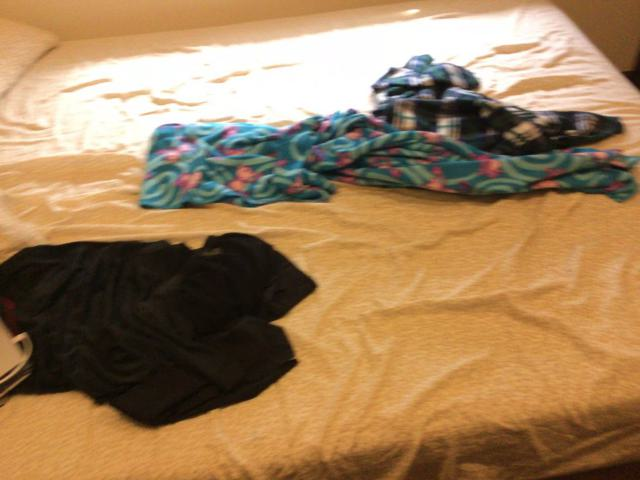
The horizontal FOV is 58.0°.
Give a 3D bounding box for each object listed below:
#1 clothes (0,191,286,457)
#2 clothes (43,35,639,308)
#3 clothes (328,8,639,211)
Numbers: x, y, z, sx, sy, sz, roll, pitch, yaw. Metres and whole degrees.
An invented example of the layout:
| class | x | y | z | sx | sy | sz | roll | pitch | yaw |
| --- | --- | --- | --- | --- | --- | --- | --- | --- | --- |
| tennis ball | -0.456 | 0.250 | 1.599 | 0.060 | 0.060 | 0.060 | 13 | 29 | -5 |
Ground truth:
| class | x | y | z | sx | sy | sz | roll | pitch | yaw |
| --- | --- | --- | --- | --- | --- | --- | --- | --- | --- |
| clothes | -0.440 | 0.140 | 0.990 | 0.710 | 0.090 | 0.410 | -10 | 46 | -4 |
| clothes | 0.030 | -0.190 | 1.260 | 1.110 | 0.120 | 0.530 | -9 | 46 | -3 |
| clothes | 0.360 | -0.340 | 1.380 | 0.590 | 0.120 | 0.540 | -10 | 46 | -3 |
